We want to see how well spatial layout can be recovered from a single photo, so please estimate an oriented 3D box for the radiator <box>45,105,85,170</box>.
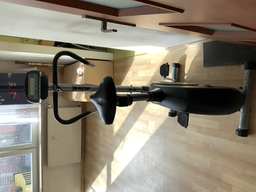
[{"bbox_3d":[-1.170,0.750,3.960,0.190,0.680,1.100,11,100,57],"label":"radiator"}]
